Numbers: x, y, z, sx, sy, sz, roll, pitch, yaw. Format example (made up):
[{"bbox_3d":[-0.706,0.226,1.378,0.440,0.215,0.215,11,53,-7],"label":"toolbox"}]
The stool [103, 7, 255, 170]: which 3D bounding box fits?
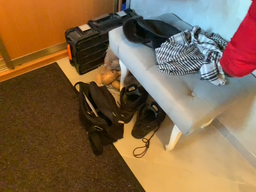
[{"bbox_3d":[0.210,-0.060,1.170,0.430,0.480,0.640,-25,60,-24],"label":"stool"}]
